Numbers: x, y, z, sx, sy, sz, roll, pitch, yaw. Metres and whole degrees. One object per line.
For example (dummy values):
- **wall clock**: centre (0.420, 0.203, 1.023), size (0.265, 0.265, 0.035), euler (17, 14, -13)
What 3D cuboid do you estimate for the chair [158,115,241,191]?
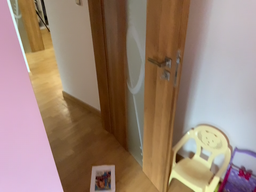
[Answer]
- **chair**: centre (0.510, 0.520, 1.590), size (0.390, 0.540, 0.360), euler (26, 41, 36)

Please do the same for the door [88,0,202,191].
- **door**: centre (0.020, -0.260, 1.540), size (0.140, 2.140, 0.970), euler (-21, 37, -28)
